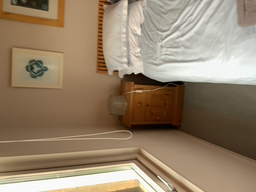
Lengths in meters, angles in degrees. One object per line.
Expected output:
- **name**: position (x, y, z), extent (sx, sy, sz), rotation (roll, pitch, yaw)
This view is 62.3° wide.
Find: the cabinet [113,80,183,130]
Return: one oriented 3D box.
- **cabinet**: position (0.210, 0.080, 2.400), extent (0.430, 0.630, 0.480), rotation (-166, 78, -66)
